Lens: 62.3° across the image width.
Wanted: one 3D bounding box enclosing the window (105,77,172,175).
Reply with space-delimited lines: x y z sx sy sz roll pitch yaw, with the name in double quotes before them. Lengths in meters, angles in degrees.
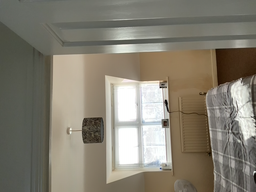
"window" 0.190 0.580 4.230 0.250 1.230 1.850 77 -168 -84
